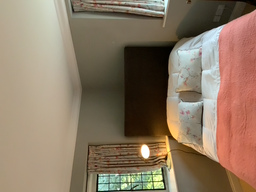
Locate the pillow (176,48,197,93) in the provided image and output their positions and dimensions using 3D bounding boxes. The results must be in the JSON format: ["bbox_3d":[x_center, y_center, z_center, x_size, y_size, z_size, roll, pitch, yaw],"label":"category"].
[{"bbox_3d":[0.740,-0.310,2.690,0.310,0.160,0.540,-163,72,-86],"label":"pillow"}]

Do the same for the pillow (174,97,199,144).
[{"bbox_3d":[0.730,0.290,2.670,0.320,0.200,0.550,-163,72,-86],"label":"pillow"}]
